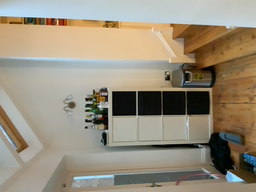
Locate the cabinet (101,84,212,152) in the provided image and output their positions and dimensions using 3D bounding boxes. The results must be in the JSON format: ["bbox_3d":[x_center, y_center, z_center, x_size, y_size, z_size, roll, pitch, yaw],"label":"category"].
[{"bbox_3d":[0.390,0.280,3.110,0.470,1.530,0.890,179,90,-81],"label":"cabinet"}]
